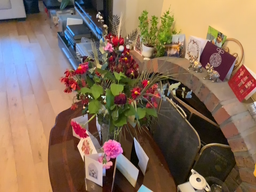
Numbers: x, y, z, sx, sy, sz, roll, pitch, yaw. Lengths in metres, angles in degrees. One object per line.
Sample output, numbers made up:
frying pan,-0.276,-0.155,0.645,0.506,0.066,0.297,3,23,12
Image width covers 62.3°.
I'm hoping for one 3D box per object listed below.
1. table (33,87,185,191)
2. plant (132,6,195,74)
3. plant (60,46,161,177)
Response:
table,-0.200,0.470,1.450,0.620,0.420,1.090,-13,42,-24
plant,0.260,-0.460,1.710,0.300,0.400,0.330,-14,43,-25
plant,-0.120,0.080,1.180,0.370,0.570,0.350,-13,42,-24
